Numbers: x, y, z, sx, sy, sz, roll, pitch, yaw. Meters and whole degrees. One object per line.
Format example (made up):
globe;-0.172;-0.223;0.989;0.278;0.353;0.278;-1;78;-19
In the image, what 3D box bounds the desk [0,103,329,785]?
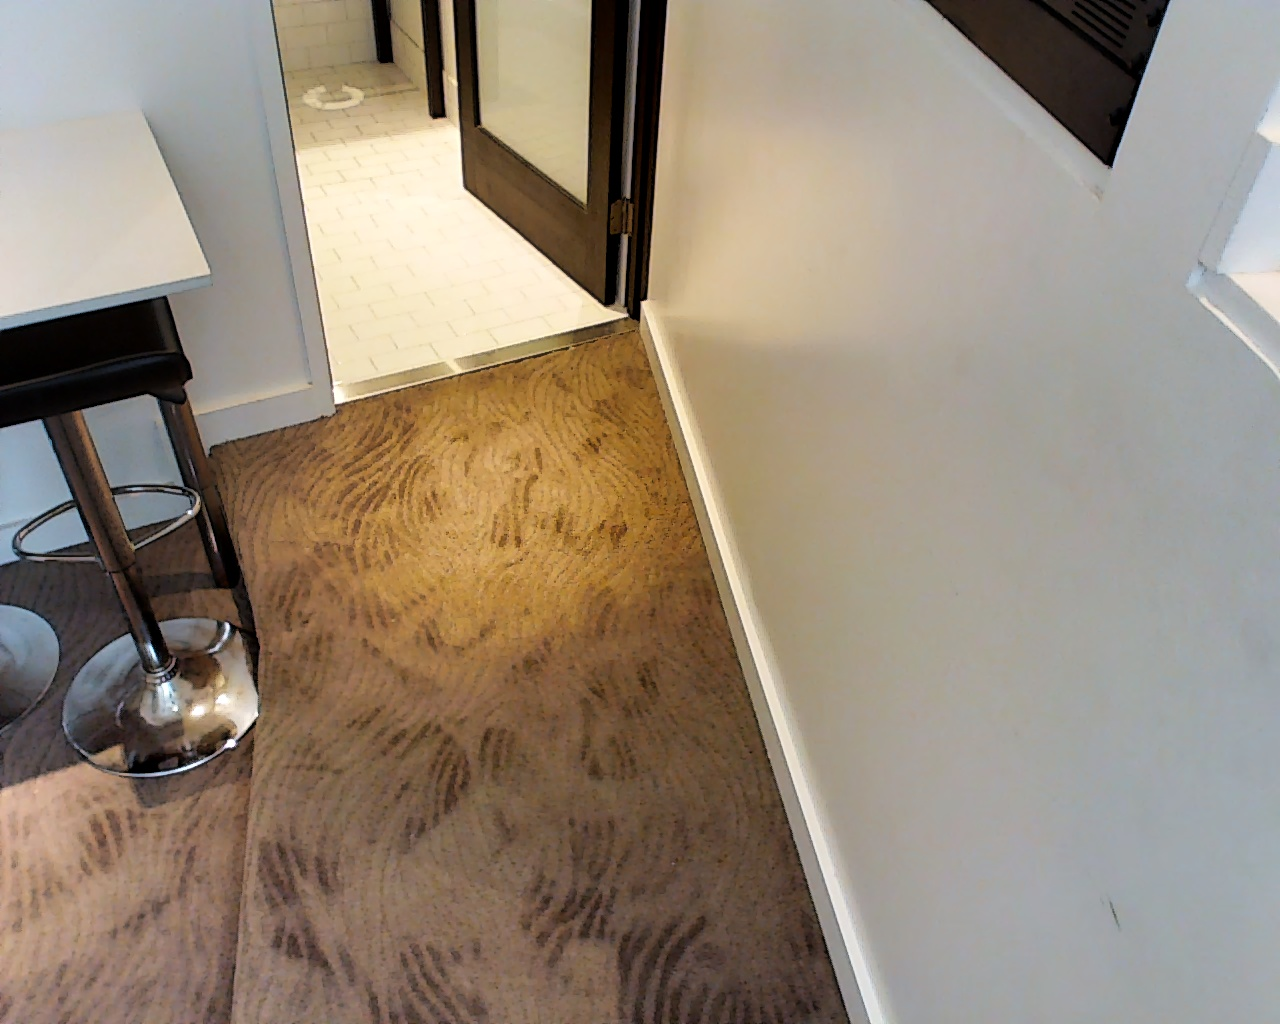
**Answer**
desk;-1.400;0.000;1.730;1.500;0.860;0.670;-18;46;-22
